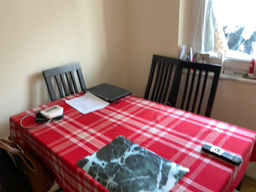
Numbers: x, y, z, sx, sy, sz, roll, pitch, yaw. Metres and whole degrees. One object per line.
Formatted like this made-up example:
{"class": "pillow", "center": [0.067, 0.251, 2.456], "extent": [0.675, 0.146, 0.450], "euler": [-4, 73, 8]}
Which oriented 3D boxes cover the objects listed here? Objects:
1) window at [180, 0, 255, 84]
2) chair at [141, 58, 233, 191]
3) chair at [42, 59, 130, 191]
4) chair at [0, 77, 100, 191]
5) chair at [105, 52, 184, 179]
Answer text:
{"class": "window", "center": [0.820, -0.890, 1.550], "extent": [0.780, 1.530, 0.200], "euler": [16, 28, 39]}
{"class": "chair", "center": [0.460, 0.260, 1.740], "extent": [0.440, 1.010, 0.560], "euler": [17, 29, 40]}
{"class": "chair", "center": [-0.340, 0.250, 1.840], "extent": [0.560, 1.010, 0.390], "euler": [18, 29, 41]}
{"class": "chair", "center": [-0.570, 0.450, 1.400], "extent": [0.560, 0.980, 0.460], "euler": [-21, 29, -39]}
{"class": "chair", "center": [0.170, 0.150, 2.050], "extent": [0.440, 1.010, 0.560], "euler": [17, 29, 40]}
